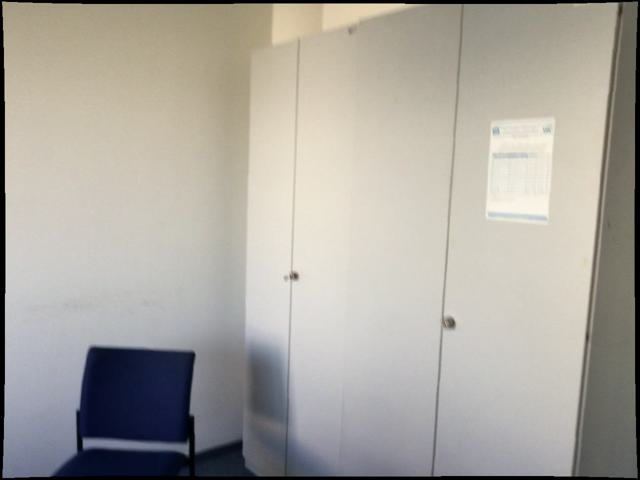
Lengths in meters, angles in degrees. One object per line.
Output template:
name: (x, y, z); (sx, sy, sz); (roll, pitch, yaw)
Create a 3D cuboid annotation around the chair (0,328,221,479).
chair: (-0.769, 0.841, 2.240); (0.539, 0.771, 0.680); (5, 9, 9)

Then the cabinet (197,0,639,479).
cabinet: (0.360, 0.220, 2.270); (0.620, 2.242, 2.319); (-4, 12, -38)
